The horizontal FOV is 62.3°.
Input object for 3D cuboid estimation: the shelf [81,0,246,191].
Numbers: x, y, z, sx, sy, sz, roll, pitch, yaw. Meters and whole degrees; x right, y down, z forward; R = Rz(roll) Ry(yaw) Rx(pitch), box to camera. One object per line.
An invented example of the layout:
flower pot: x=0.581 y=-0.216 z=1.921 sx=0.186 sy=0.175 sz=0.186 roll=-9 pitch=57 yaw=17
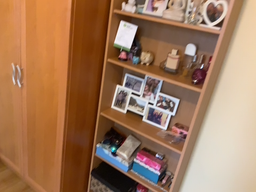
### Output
shelf: x=0.120 y=0.030 z=1.340 sx=0.670 sy=1.810 sz=0.240 roll=23 pitch=25 yaw=26
